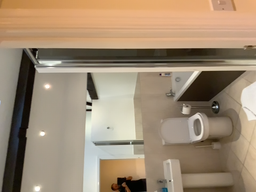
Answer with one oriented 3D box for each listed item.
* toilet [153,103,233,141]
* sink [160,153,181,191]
[{"bbox_3d":[0.870,0.390,3.040,0.650,0.880,0.390,100,168,-70],"label":"toilet"},{"bbox_3d":[0.570,1.070,2.890,0.410,0.140,0.530,100,168,-70],"label":"sink"}]
